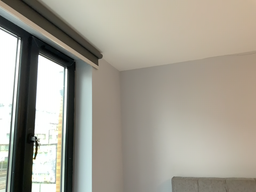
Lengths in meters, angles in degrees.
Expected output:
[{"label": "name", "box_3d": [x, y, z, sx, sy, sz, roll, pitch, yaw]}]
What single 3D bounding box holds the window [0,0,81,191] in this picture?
[{"label": "window", "box_3d": [-0.590, 0.250, 1.310, 0.050, 1.460, 1.020, -6, -13, 18]}]
